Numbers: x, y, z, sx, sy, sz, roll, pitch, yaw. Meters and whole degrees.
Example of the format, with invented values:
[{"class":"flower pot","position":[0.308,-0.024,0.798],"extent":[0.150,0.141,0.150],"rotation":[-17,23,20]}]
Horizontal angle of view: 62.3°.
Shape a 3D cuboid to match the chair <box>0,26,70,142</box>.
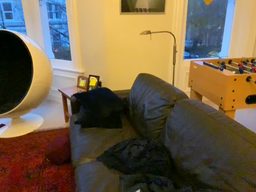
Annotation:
[{"class":"chair","position":[-1.460,-0.230,2.640],"extent":[1.070,1.190,0.870],"rotation":[3,21,8]}]
